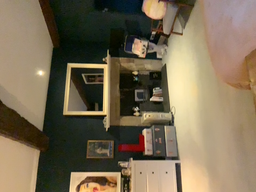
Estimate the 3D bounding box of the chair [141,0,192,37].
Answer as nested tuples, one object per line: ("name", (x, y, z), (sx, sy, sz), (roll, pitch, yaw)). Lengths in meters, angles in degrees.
("chair", (0.700, -1.780, 4.180), (0.620, 0.720, 1.000), (105, 165, -55))
